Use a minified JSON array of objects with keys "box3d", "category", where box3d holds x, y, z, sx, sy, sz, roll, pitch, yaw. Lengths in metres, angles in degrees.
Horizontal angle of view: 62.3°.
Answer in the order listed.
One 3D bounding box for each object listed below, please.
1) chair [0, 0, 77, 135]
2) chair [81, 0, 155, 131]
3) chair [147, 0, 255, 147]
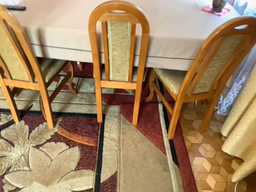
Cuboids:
[{"box3d":[-0.680,-0.250,1.470,0.390,0.970,0.470,11,44,7],"category":"chair"},{"box3d":[-0.070,-0.250,1.530,0.360,0.970,0.470,4,43,-1],"category":"chair"},{"box3d":[0.450,-0.160,1.470,0.370,0.980,0.470,-10,45,-15],"category":"chair"}]
